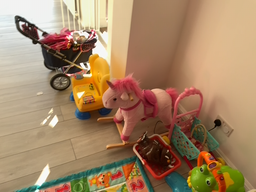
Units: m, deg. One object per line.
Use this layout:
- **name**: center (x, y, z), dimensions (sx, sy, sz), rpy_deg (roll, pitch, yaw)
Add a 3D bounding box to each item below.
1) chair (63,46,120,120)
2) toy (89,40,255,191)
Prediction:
- **chair**: center (-0.330, -0.130, 1.860), dimensions (0.340, 0.400, 0.460), rpy_deg (-12, 46, -22)
- **toy**: center (0.220, 0.120, 1.540), dimensions (0.770, 0.620, 0.860), rpy_deg (-12, 46, -22)
